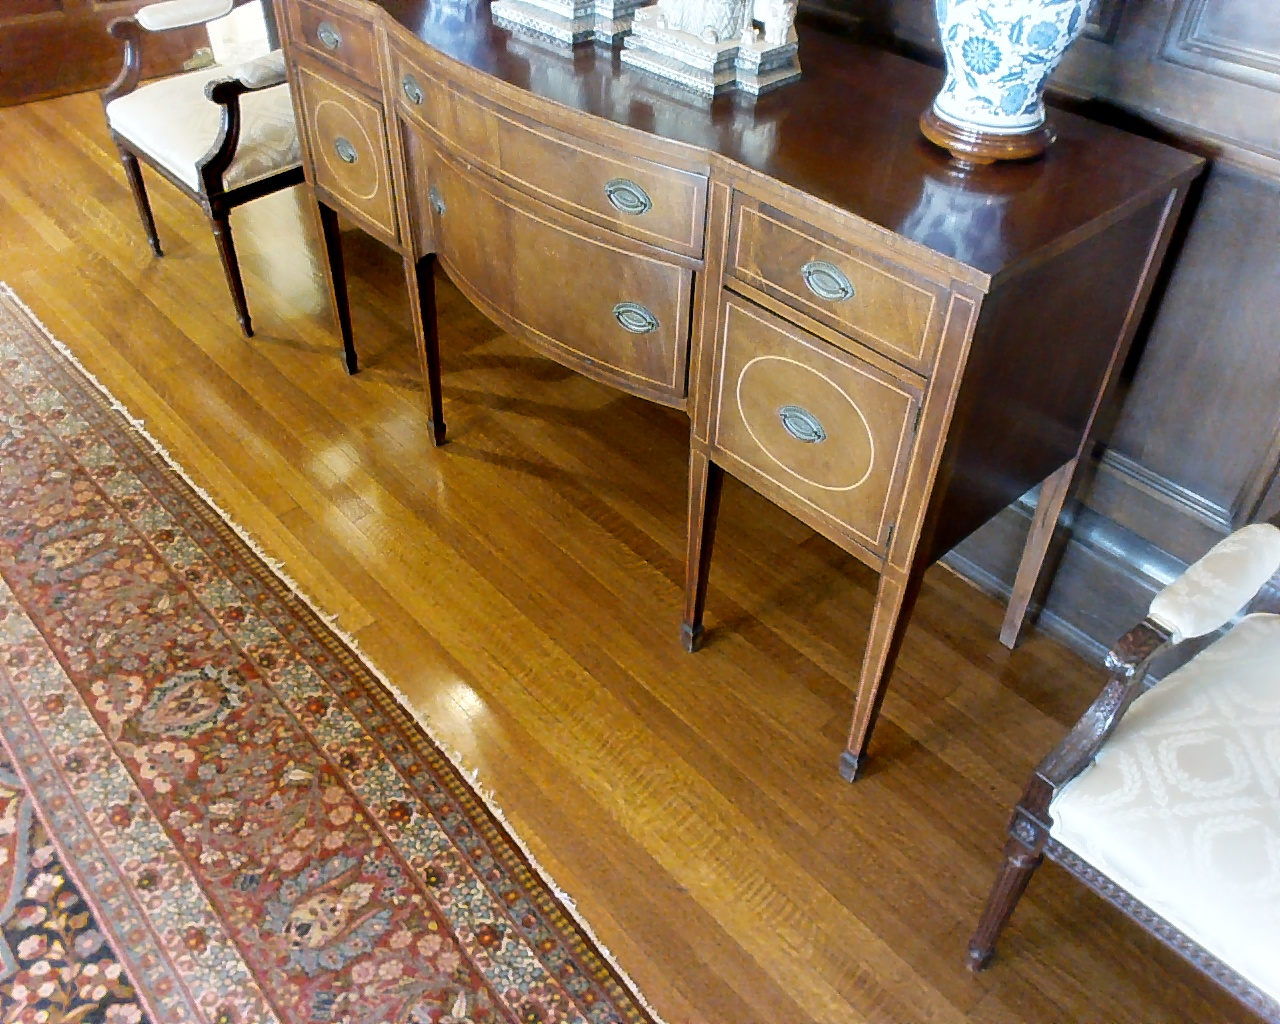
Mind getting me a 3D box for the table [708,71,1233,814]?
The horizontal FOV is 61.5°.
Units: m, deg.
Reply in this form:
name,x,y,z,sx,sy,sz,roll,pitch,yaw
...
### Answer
name,x,y,z,sx,sy,sz,roll,pitch,yaw
table,0.440,-0.070,1.690,0.470,1.010,0.390,-30,50,-30
